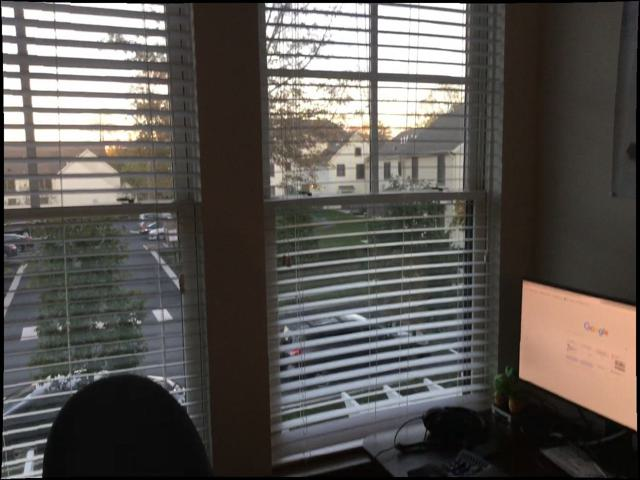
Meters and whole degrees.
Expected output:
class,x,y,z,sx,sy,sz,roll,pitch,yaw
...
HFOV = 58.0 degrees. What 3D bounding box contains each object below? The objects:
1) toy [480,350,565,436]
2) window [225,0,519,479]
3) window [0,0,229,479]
class,x,y,z,sx,sy,sz,roll,pitch,yaw
toy,0.708,0.531,2.030,0.230,0.210,0.160,-5,10,-18
window,0.209,-0.090,1.910,0.948,1.844,0.120,-5,10,-19
window,-0.788,0.010,1.550,0.978,1.914,0.130,-5,10,-20
